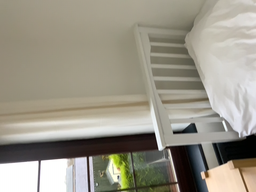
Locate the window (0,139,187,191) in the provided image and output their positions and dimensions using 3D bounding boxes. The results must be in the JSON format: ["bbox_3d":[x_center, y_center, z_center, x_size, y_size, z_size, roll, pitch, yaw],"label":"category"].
[{"bbox_3d":[-0.230,0.760,1.430,0.060,1.380,0.850,114,151,-58],"label":"window"}]
